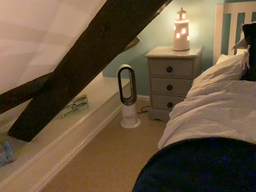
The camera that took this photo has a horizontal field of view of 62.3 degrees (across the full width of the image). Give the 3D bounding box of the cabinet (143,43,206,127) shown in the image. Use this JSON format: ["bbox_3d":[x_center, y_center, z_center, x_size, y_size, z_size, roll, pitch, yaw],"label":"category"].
[{"bbox_3d":[0.460,-0.130,2.030,0.440,0.660,0.430,7,28,27],"label":"cabinet"}]
